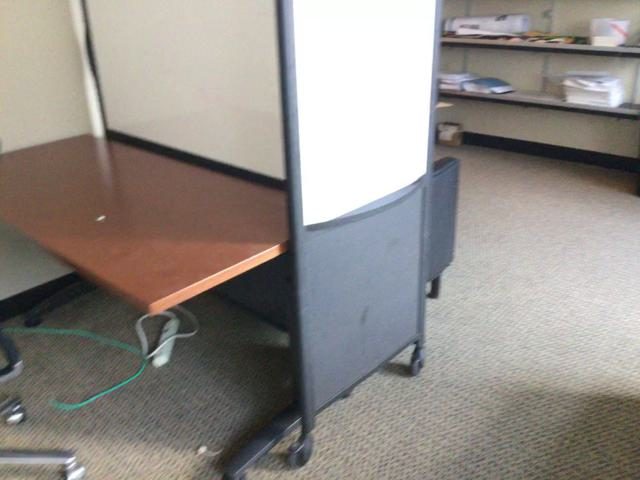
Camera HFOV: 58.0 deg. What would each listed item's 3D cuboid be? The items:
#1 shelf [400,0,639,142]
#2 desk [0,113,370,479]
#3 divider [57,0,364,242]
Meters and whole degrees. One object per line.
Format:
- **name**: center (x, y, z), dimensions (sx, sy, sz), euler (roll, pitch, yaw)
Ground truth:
- **shelf**: center (1.230, -1.830, 3.340), dimensions (0.500, 2.190, 1.590), euler (-25, 33, -35)
- **desk**: center (-0.650, 0.120, 2.040), dimensions (0.730, 0.760, 1.550), euler (-25, 33, -35)
- **divider**: center (-0.450, -0.670, 1.870), dimensions (0.280, 0.970, 1.330), euler (-25, 33, -35)
